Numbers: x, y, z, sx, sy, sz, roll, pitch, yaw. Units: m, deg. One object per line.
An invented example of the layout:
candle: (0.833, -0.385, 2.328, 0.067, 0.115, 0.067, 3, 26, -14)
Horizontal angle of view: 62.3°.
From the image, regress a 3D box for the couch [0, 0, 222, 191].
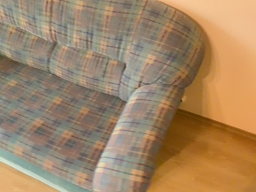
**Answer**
couch: (-0.520, -0.130, 1.270, 1.690, 0.870, 0.940, 20, 52, 12)
